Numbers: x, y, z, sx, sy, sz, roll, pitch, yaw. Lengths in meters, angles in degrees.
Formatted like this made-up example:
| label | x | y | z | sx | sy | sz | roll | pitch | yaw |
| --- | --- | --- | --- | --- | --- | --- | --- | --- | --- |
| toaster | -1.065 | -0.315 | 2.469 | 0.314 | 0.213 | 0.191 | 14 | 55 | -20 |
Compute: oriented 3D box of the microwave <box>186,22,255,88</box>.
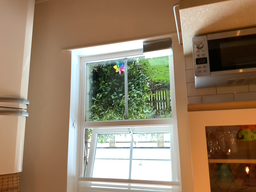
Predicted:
| label | x | y | z | sx | sy | sz | roll | pitch | yaw |
| --- | --- | --- | --- | --- | --- | --- | --- | --- | --- |
| microwave | 0.620 | -0.230 | 1.290 | 0.490 | 0.270 | 0.320 | -4 | 169 | 16 |

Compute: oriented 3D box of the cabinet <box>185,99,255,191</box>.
| label | x | y | z | sx | sy | sz | roll | pitch | yaw |
| --- | --- | --- | --- | --- | --- | --- | --- | --- | --- |
| cabinet | 0.870 | 0.420 | 1.140 | 1.030 | 0.790 | 0.320 | -4 | 169 | 16 |
